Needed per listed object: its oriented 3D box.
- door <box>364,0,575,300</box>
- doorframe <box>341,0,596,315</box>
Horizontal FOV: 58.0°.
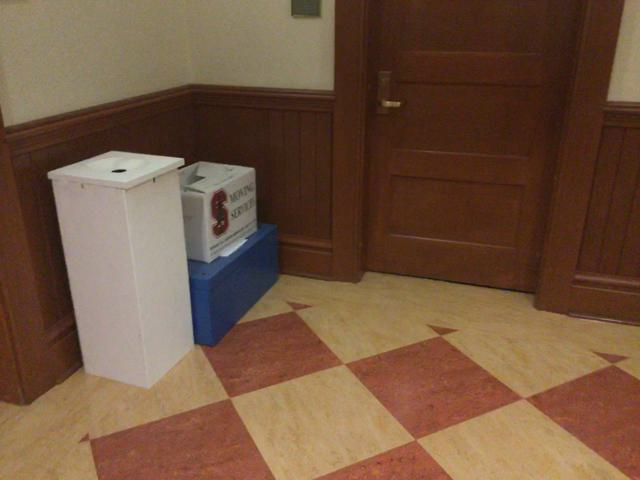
[{"bbox_3d":[0.630,-0.710,2.560,0.830,2.000,0.120,5,22,16],"label":"door"},{"bbox_3d":[0.600,-0.760,2.480,0.970,2.150,0.290,5,22,16],"label":"doorframe"}]
